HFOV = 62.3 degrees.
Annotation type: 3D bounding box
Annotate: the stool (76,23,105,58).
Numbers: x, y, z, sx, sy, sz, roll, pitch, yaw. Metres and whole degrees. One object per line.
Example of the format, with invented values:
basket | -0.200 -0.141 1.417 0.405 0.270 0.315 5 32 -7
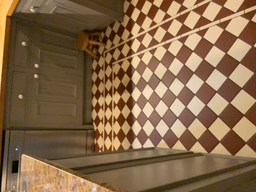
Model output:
stool | -0.400 -0.580 2.270 0.190 0.250 0.270 -10 79 49
